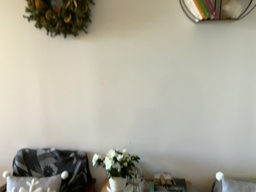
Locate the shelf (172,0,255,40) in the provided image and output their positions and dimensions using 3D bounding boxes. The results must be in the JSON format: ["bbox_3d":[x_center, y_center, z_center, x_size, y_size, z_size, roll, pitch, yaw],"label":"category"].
[{"bbox_3d":[0.490,-0.600,1.160,0.450,0.560,0.160,1,12,6],"label":"shelf"}]
